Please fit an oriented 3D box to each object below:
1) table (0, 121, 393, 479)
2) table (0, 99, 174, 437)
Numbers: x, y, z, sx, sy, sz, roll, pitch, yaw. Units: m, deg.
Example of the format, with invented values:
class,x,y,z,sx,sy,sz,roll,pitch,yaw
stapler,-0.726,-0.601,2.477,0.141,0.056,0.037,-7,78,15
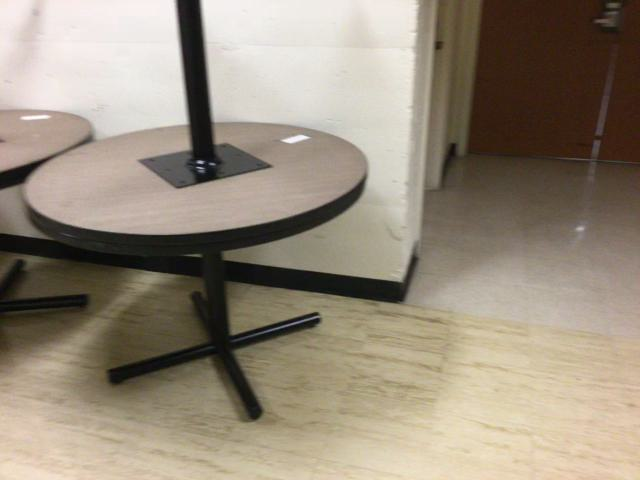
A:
class,x,y,z,sx,sy,sz,roll,pitch,yaw
table,-0.310,0.120,1.990,0.940,0.770,1.010,6,27,15
table,-1.410,-0.030,2.240,1.160,0.770,1.110,6,27,15
